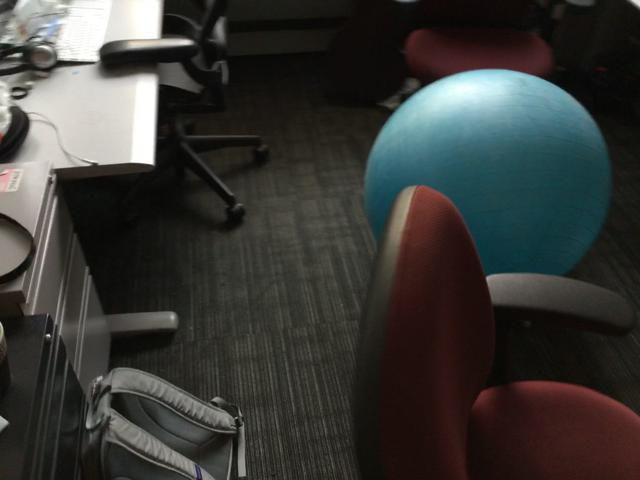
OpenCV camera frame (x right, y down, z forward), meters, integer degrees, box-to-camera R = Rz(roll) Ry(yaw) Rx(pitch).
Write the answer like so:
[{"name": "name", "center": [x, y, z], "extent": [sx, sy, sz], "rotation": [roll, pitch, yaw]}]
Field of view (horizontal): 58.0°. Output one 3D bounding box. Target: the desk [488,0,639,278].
[{"name": "desk", "center": [1.370, -0.520, 2.040], "extent": [0.810, 0.750, 1.650], "rotation": [-6, 44, -8]}]

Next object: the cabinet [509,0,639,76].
[{"name": "cabinet", "center": [1.190, -1.070, 2.630], "extent": [0.370, 0.410, 0.520], "rotation": [-6, 44, -8]}]

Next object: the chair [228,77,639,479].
[{"name": "chair", "center": [0.350, 0.390, 0.960], "extent": [0.660, 0.970, 0.650], "rotation": [21, 46, 20]}]

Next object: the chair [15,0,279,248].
[{"name": "chair", "center": [-0.500, -0.590, 1.930], "extent": [0.620, 0.970, 0.690], "rotation": [-6, 44, -8]}]
